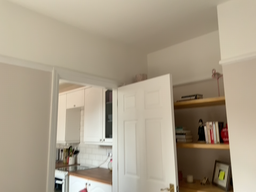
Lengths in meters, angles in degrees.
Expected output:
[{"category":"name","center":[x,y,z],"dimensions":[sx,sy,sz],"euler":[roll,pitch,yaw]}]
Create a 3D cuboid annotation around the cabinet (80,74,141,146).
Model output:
[{"category":"cabinet","center":[-0.310,0.260,3.390],"dimensions":[1.000,0.990,0.370],"euler":[-9,-13,43]}]
